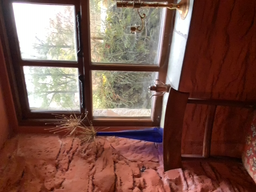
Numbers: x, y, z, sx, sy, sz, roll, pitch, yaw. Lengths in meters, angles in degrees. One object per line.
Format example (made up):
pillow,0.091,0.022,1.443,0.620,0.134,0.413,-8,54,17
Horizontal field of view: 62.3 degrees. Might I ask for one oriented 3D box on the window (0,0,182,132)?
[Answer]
window,-0.240,-0.190,1.400,0.110,1.050,0.940,-106,17,-62
